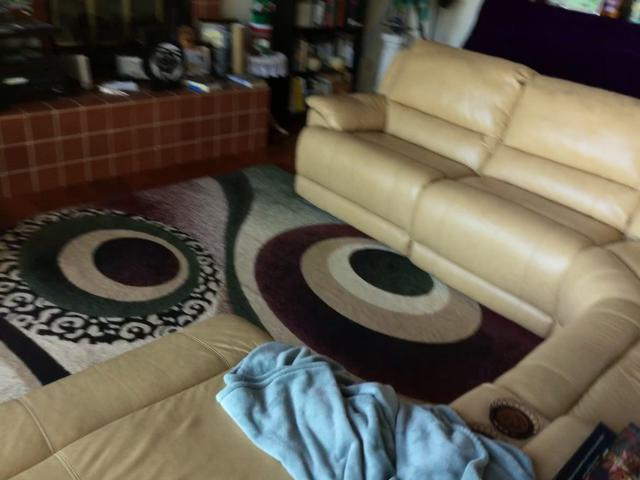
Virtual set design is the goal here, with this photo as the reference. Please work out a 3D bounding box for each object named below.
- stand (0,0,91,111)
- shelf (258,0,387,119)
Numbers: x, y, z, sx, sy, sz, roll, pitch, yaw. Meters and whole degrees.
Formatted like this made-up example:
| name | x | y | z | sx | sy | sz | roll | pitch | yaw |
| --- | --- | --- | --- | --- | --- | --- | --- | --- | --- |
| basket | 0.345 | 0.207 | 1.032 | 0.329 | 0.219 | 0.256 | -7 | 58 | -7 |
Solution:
| name | x | y | z | sx | sy | sz | roll | pitch | yaw |
| --- | --- | --- | --- | --- | --- | --- | --- | --- | --- |
| stand | -1.980 | -0.970 | 2.950 | 1.300 | 0.460 | 0.710 | -20 | 41 | -40 |
| shelf | 0.070 | -2.020 | 4.780 | 0.960 | 1.840 | 0.460 | -20 | 41 | -40 |
